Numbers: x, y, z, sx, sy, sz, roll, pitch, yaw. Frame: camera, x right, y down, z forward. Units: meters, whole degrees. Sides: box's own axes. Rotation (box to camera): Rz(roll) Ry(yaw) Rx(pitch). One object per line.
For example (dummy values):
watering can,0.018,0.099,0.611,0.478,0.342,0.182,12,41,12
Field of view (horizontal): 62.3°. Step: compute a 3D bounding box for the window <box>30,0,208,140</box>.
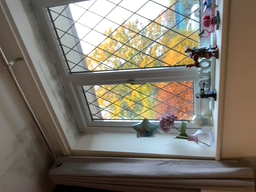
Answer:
window,-0.040,-0.370,1.440,0.130,1.080,1.600,-66,-30,-56
